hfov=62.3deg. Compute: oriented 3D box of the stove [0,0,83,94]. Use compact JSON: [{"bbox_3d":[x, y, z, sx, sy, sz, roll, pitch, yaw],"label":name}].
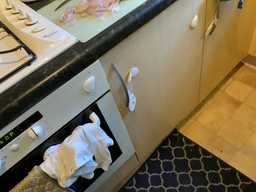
[{"bbox_3d":[-0.510,-0.110,0.600,0.590,0.040,0.520,-42,54,-19],"label":"stove"}]
